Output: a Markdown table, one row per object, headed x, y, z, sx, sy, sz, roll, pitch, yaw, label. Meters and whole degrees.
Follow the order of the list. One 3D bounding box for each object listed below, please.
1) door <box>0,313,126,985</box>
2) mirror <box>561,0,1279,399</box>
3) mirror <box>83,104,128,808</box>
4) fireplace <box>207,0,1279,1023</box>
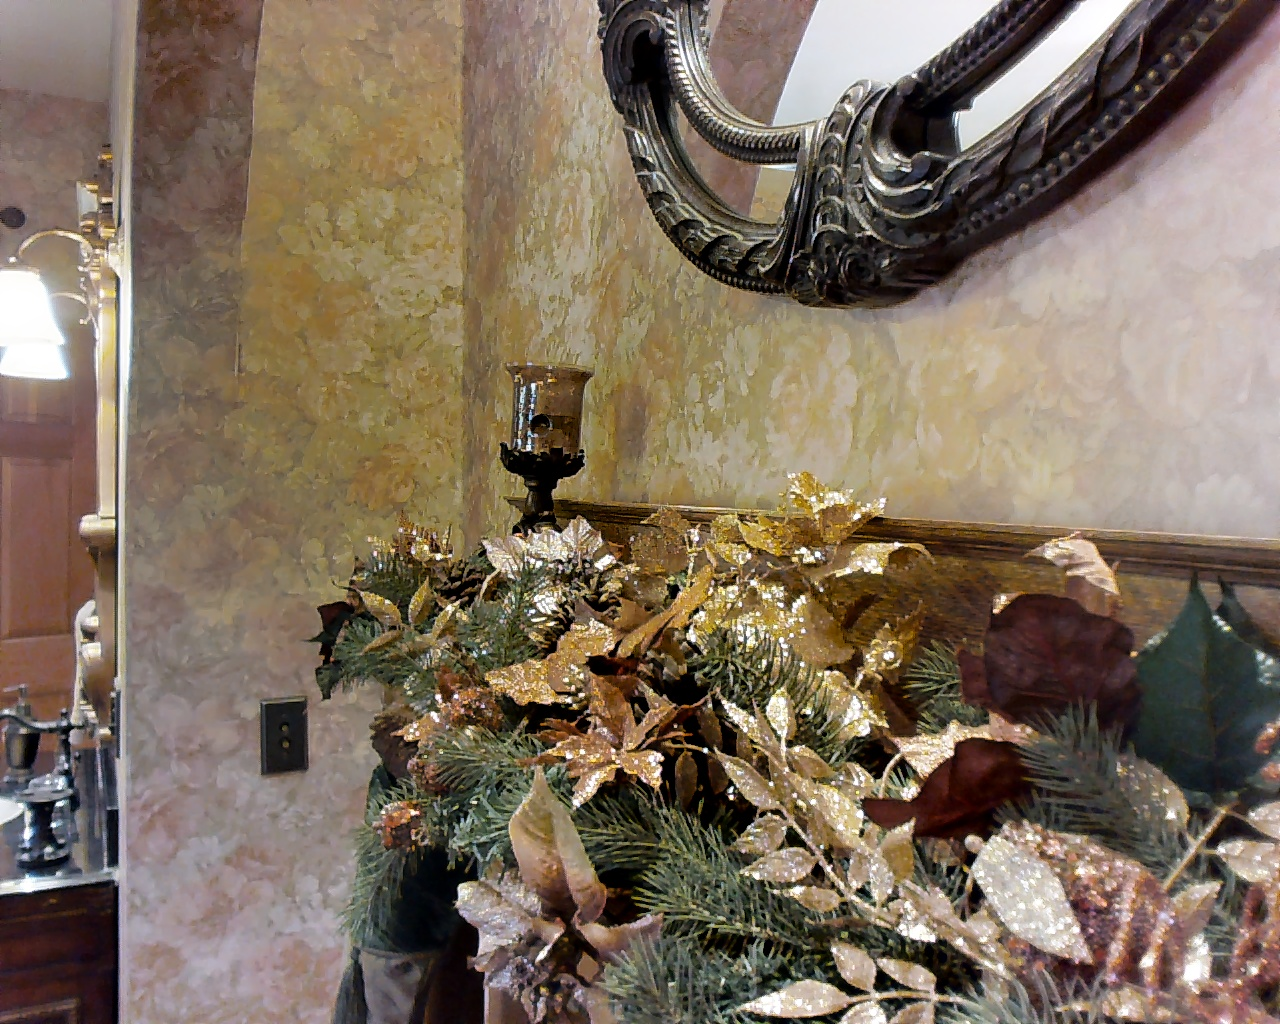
| x | y | z | sx | sy | sz | roll | pitch | yaw | label |
| --- | --- | --- | --- | --- | --- | --- | --- | --- | --- |
| -2.069 | 0.430 | 3.400 | 0.110 | 2.111 | 0.830 | 0 | 0 | 41 | door |
| 0.160 | -0.510 | 0.770 | 0.090 | 0.770 | 0.900 | 0 | 0 | -27 | mirror |
| -1.100 | -0.100 | 2.210 | 0.070 | 1.250 | 0.630 | 0 | 0 | -27 | mirror |
| 0.030 | 0.730 | 0.680 | 0.410 | 1.661 | 1.730 | 0 | 0 | -27 | fireplace |
